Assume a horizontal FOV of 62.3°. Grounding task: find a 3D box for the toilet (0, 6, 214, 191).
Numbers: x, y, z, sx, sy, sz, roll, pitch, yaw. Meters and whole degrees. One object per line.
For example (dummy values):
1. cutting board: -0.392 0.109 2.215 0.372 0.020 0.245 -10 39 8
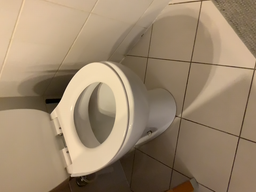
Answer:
1. toilet: -0.200 0.120 0.870 0.700 0.760 0.370 -43 63 38
